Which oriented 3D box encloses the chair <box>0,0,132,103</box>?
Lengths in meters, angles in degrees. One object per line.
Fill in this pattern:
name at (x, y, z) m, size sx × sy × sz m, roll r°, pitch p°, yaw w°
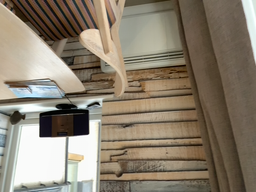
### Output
chair at (-0.300, -0.460, 1.140) m, size 0.550 × 0.840 × 0.530 m, roll -4°, pitch 160°, yaw 9°
